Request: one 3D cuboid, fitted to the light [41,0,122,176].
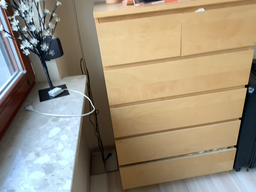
[{"bbox_3d":[-0.270,-0.130,1.430,0.270,1.570,0.280,-7,29,-3],"label":"light"}]
